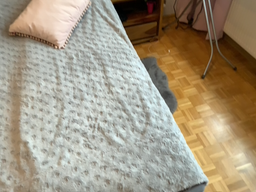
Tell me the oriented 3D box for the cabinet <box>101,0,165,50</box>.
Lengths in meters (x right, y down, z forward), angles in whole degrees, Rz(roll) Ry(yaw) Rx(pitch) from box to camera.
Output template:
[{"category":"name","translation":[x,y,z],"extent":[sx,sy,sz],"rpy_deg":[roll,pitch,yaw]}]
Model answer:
[{"category":"cabinet","translation":[0.040,-0.920,2.360],"extent":[0.580,0.560,0.410],"rpy_deg":[-14,49,-10]}]
